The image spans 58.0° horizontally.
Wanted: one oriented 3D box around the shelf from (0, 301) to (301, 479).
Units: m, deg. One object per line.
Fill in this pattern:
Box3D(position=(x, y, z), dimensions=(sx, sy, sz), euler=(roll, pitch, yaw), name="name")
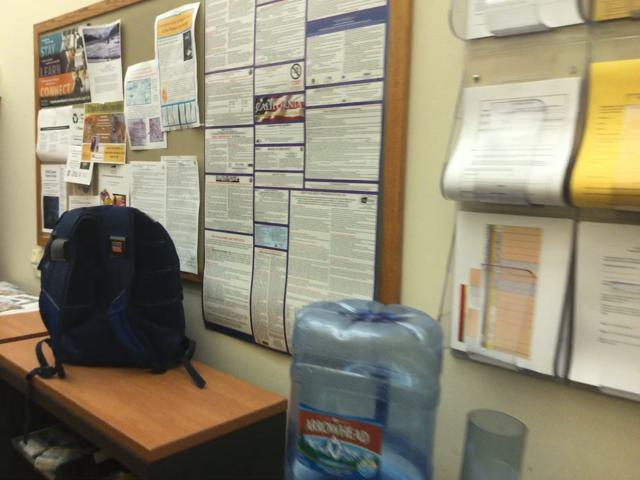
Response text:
Box3D(position=(-0.550, 0.810, 1.610), dimensions=(0.950, 1.080, 0.400), euler=(8, 9, 42), name="shelf")
